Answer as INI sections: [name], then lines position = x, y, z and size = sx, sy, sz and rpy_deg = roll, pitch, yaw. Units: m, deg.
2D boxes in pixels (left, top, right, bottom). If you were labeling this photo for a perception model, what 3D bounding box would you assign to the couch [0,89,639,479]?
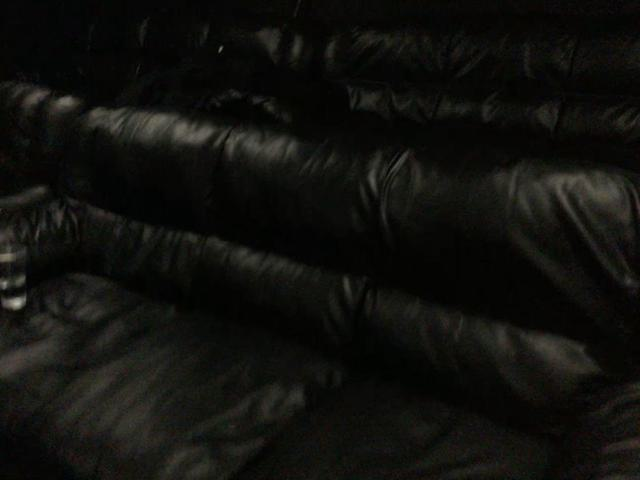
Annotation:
[couch]
position = -0.200, 0.230, 1.290
size = 2.010, 0.920, 0.920
rpy_deg = 16, 22, 33
